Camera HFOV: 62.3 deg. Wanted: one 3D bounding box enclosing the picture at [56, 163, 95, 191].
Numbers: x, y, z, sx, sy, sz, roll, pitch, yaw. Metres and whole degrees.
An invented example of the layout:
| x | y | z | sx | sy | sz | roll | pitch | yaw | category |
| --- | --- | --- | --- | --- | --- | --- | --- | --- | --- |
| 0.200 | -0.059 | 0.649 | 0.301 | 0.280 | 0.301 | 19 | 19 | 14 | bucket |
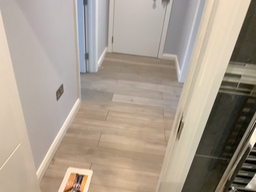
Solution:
| x | y | z | sx | sy | sz | roll | pitch | yaw | category |
| --- | --- | --- | --- | --- | --- | --- | --- | --- | --- |
| -0.400 | 0.660 | 1.630 | 0.240 | 0.030 | 0.310 | 6 | 33 | -1 | picture |
